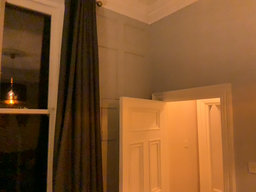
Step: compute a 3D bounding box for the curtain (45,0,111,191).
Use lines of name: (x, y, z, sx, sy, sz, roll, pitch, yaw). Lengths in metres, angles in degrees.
curtain: (-0.440, 0.360, 1.910, 0.490, 2.970, 0.250, 4, -6, -36)

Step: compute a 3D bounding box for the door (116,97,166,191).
door: (0.170, 1.020, 2.240, 0.060, 1.970, 0.840, -4, -7, 38)
